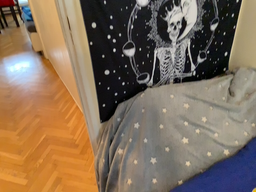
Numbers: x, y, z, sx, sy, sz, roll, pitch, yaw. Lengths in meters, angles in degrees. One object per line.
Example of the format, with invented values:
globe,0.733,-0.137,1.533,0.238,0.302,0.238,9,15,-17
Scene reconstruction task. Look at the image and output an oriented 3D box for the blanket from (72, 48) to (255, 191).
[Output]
blanket,0.290,0.090,1.070,0.980,0.300,0.430,-21,39,-22
